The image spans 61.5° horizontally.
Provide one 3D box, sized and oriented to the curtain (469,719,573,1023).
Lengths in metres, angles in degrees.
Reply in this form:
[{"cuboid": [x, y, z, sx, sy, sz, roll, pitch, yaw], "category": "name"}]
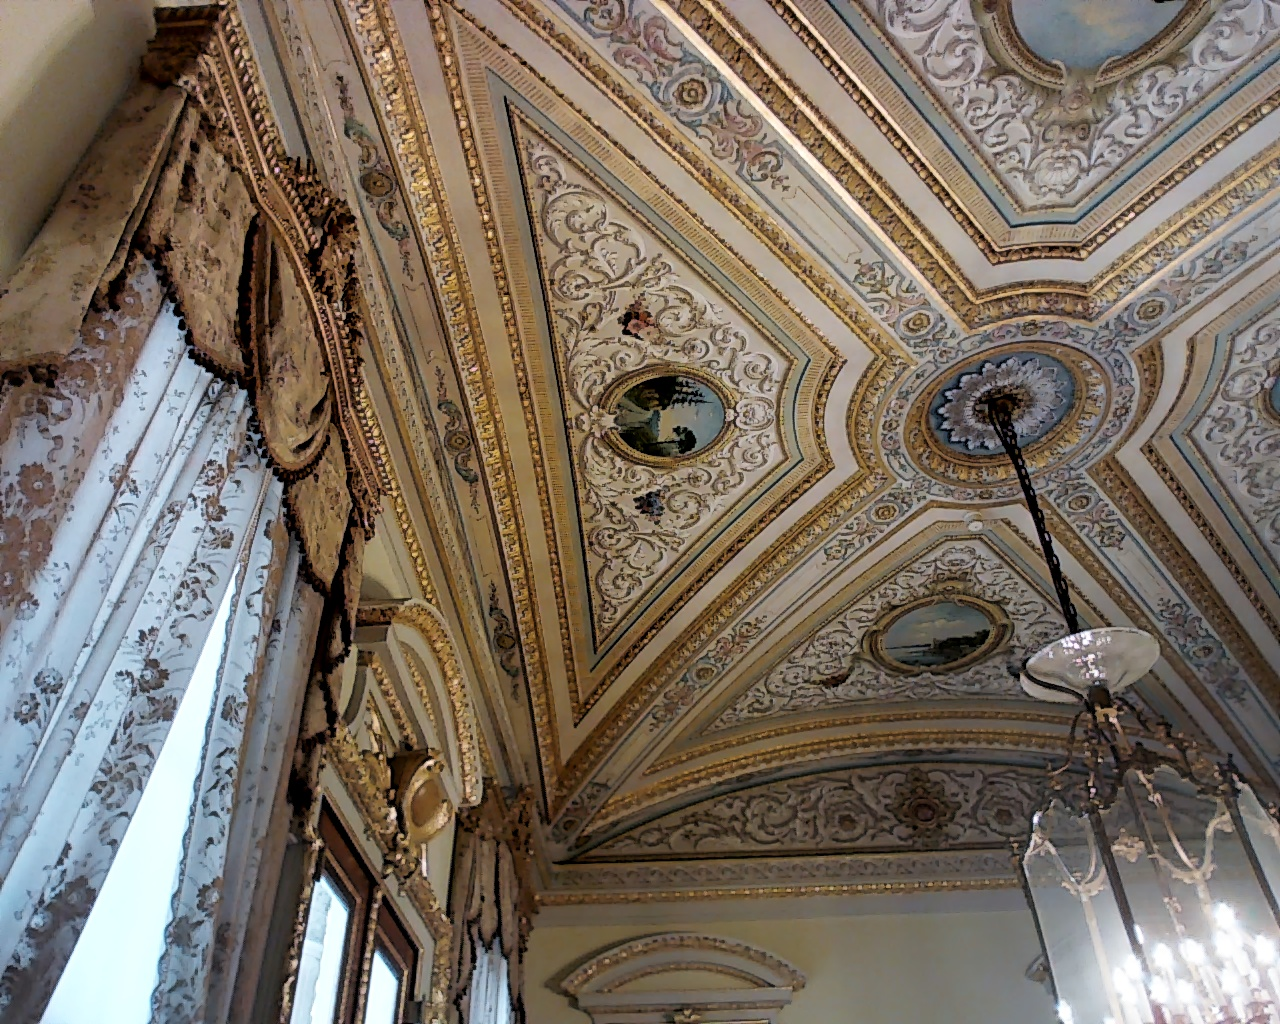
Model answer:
[{"cuboid": [-0.580, 3.352, 4.940, 0.210, 4.452, 1.711, -3, -41, 3], "category": "curtain"}]
